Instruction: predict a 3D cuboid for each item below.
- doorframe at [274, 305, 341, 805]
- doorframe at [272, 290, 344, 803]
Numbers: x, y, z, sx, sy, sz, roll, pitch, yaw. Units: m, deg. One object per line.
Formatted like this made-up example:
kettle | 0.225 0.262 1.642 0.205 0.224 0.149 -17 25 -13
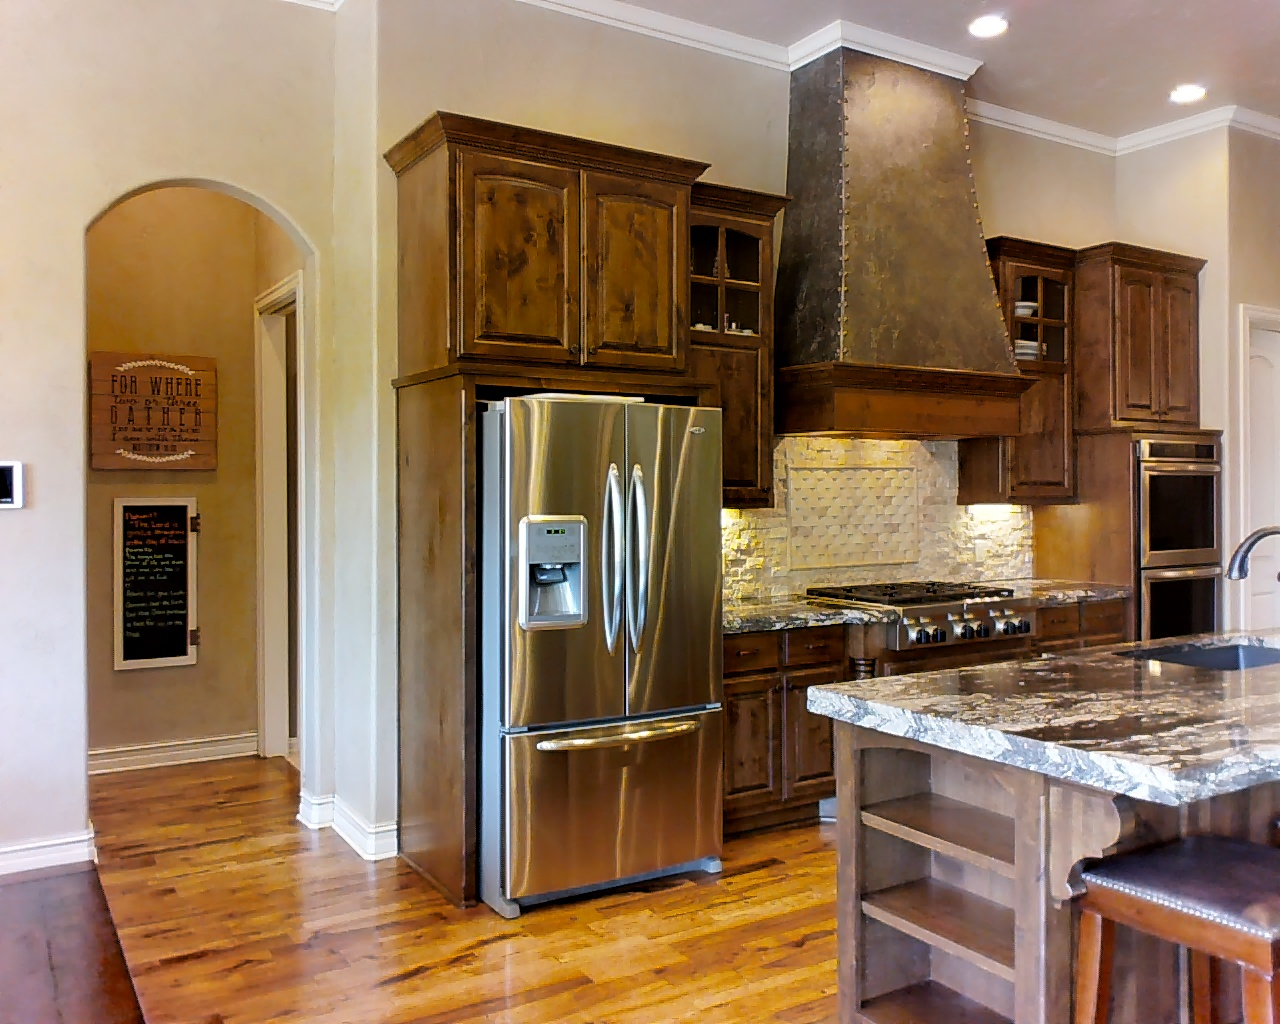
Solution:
doorframe | -1.750 0.210 5.590 0.130 2.450 0.750 -1 0 -31
doorframe | -1.750 0.170 5.600 0.150 2.510 0.770 -1 0 -31
